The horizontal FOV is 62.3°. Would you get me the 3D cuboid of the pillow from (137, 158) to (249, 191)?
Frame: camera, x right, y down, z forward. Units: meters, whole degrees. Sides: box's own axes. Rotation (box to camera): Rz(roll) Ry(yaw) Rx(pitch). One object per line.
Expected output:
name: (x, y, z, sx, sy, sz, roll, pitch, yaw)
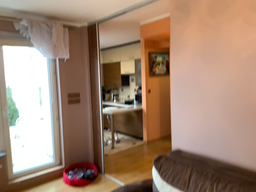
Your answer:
pillow: (0.490, 0.780, 1.620, 0.250, 0.290, 0.950, -6, 7, -40)
